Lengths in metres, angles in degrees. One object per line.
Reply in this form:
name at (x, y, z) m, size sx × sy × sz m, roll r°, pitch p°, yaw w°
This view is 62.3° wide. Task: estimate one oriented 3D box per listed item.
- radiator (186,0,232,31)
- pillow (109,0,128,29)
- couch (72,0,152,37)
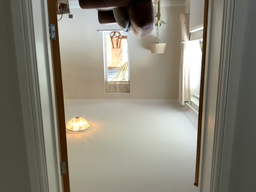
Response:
radiator at (1.050, -1.300, 2.890) m, size 0.160 × 0.660 × 1.370 m, roll 0°, pitch -168°, yaw 2°
pillow at (-0.110, -1.120, 2.650) m, size 0.200 × 0.490 × 0.410 m, roll 0°, pitch -168°, yaw 2°
couch at (-0.140, -1.330, 2.980) m, size 0.880 × 0.870 × 1.420 m, roll 0°, pitch -168°, yaw 3°
